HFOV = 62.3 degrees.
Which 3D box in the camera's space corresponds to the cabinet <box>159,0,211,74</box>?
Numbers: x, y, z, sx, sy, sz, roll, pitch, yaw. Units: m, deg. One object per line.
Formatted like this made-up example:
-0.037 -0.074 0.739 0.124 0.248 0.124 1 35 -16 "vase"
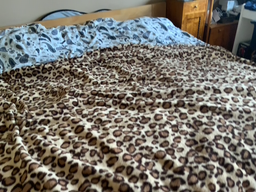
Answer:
0.690 -0.780 2.720 0.390 0.820 0.420 -15 35 -18 "cabinet"
